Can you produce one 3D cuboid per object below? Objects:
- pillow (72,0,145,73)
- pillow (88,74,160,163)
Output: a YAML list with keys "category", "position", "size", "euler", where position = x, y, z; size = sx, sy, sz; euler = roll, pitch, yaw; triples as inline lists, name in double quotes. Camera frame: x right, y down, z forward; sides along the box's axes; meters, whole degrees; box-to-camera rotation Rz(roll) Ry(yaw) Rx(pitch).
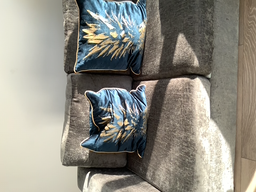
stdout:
- category: "pillow"
  position: [-0.130, -0.410, 1.360]
  size: [0.220, 0.430, 0.490]
  euler: [180, 90, -70]
- category: "pillow"
  position: [-0.030, 0.120, 1.350]
  size: [0.320, 0.330, 0.470]
  euler: [-1, 90, 55]
